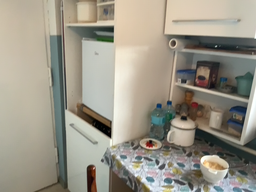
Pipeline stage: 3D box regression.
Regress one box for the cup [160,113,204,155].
[{"bbox_3d":[0.320,0.220,1.280,0.170,0.160,0.170,-10,21,-36],"label":"cup"}]
